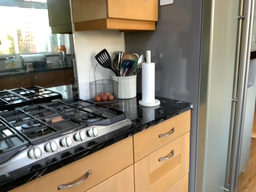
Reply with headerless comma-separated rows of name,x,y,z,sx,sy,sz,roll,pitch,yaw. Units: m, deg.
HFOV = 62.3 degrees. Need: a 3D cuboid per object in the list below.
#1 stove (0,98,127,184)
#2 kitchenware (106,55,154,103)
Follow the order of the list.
stove,-0.440,0.140,0.890,0.630,0.040,0.600,-15,20,-43
kitchenware,0.010,-0.130,1.470,0.170,0.280,0.290,-13,19,-40
